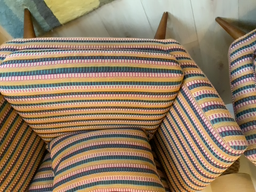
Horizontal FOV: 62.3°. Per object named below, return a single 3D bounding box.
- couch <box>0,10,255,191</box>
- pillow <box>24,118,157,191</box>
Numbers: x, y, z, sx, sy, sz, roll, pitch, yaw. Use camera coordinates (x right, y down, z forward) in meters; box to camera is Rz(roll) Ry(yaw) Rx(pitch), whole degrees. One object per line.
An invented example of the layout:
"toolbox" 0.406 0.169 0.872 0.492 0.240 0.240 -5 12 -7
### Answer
"couch" -0.180 0.190 0.990 0.910 0.770 0.820 -1 142 -3
"pillow" -0.120 0.250 0.840 0.430 0.290 0.090 10 125 9
